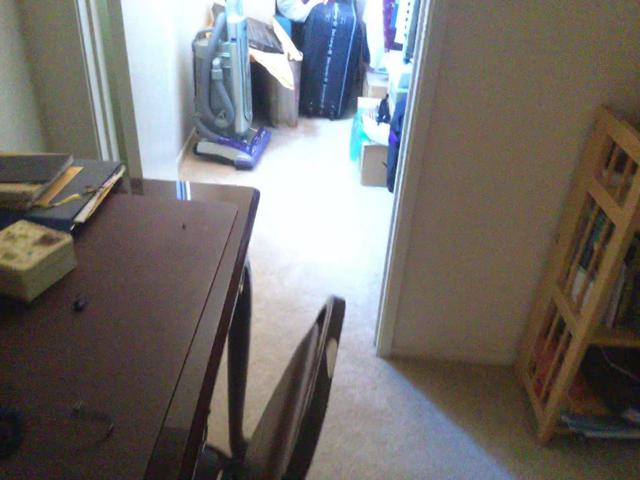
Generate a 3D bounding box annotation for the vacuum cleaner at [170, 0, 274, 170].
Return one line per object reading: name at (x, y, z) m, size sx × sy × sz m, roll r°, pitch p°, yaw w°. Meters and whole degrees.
vacuum cleaner at (-0.410, -0.900, 2.560) m, size 0.400 × 1.100 × 0.400 m, roll 1°, pitch 31°, yaw -3°

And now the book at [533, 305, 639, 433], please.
book at (0.810, 0.340, 1.570) m, size 0.320 × 0.160 × 0.320 m, roll 1°, pitch 31°, yaw -3°

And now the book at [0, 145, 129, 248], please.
book at (-0.500, -0.080, 0.950) m, size 0.300 × 0.060 × 0.250 m, roll 1°, pitch 31°, yaw -3°
